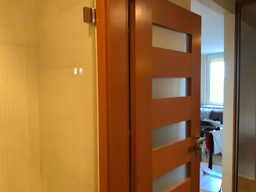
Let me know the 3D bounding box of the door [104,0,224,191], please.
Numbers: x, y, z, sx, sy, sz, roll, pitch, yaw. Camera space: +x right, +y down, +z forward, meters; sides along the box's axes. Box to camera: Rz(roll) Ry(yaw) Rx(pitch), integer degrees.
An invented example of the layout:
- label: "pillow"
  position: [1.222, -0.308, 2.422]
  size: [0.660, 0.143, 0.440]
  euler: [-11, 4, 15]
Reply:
- label: "door"
  position: [0.290, 0.400, 1.370]
  size: [0.930, 1.990, 0.170]
  euler: [-3, 5, -40]
